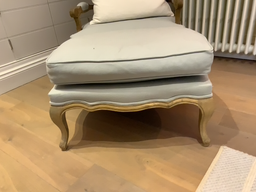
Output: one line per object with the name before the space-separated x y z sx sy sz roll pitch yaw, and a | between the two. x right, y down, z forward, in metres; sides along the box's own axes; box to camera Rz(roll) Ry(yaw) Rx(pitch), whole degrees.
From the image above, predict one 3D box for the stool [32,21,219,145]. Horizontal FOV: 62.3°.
stool | 0.010 -0.090 1.150 0.730 0.460 0.500 -3 29 5
